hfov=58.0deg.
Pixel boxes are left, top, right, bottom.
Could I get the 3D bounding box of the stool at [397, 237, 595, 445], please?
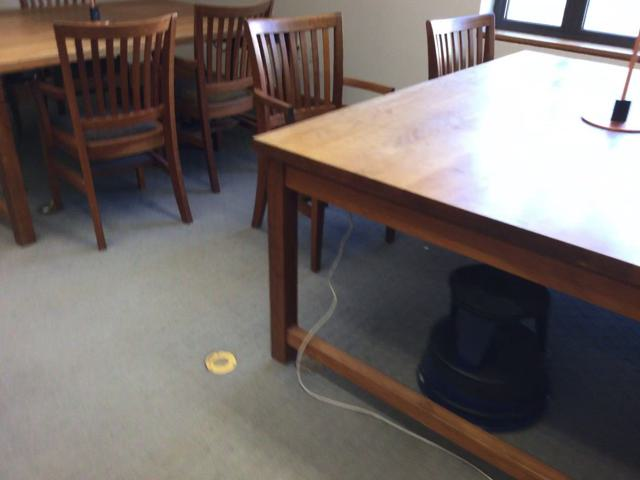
[{"bbox_3d":[0.530,0.280,1.770,0.410,0.360,0.390,21,34,32],"label":"stool"}]
